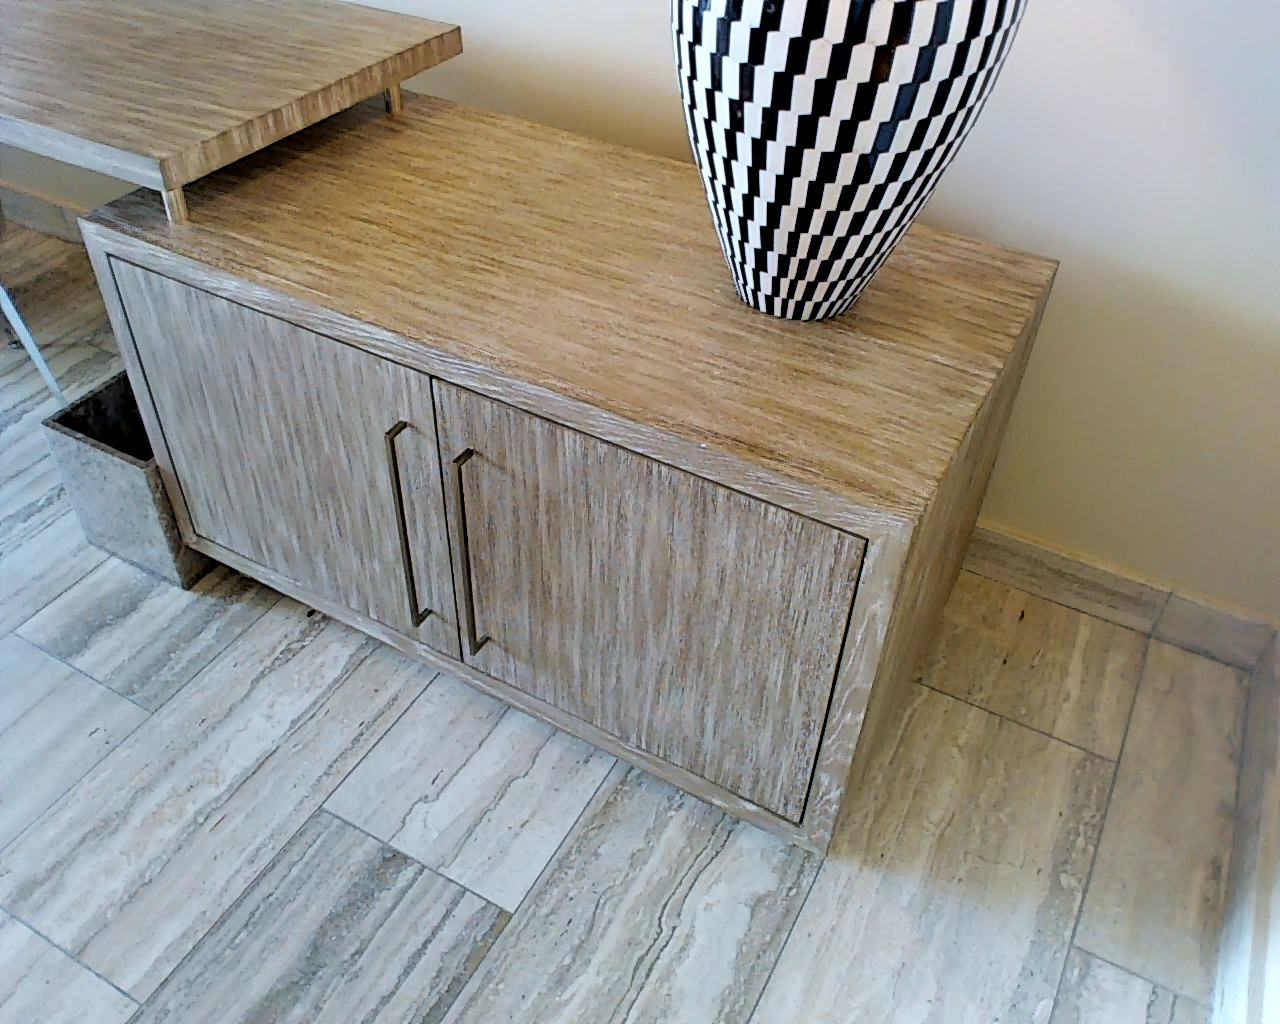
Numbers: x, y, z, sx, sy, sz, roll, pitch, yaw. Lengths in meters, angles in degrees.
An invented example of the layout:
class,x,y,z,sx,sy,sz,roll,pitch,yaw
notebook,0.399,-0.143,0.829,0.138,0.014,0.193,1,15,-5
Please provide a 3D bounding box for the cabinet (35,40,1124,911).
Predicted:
class,x,y,z,sx,sy,sz,roll,pitch,yaw
cabinet,-0.070,-0.140,1.560,1.170,0.660,0.690,21,45,20
